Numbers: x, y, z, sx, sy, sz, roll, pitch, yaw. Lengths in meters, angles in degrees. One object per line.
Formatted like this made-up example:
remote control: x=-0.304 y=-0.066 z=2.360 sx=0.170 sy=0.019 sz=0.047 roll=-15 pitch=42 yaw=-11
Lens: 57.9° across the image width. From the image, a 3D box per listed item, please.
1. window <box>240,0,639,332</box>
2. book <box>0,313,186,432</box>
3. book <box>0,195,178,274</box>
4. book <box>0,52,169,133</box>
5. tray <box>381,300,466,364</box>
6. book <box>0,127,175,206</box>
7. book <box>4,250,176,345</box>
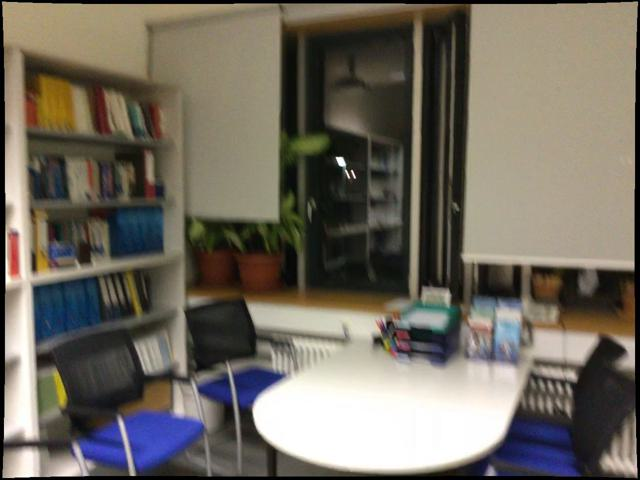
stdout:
window: x=1.289 y=-0.531 z=3.050 sx=3.557 sy=1.812 sz=0.710 roll=3 pitch=8 yaw=26
book: x=-1.309 y=0.741 z=3.470 sx=0.430 sy=0.350 sz=1.000 roll=3 pitch=8 yaw=26
book: x=-1.339 y=-0.070 z=3.380 sx=0.380 sy=0.340 sz=1.070 roll=3 pitch=8 yaw=26
book: x=-1.359 y=-0.811 z=3.340 sx=0.310 sy=0.320 sz=1.050 roll=3 pitch=8 yaw=26
tray: x=0.539 y=0.460 z=2.970 sx=0.330 sy=0.200 sz=0.390 roll=3 pitch=8 yaw=26
book: x=-1.319 y=-0.430 z=3.410 sx=0.330 sy=0.390 sz=0.980 roll=3 pitch=8 yaw=26
book: x=-1.299 y=0.300 z=3.420 sx=0.230 sy=0.340 sz=1.040 roll=3 pitch=8 yaw=26
